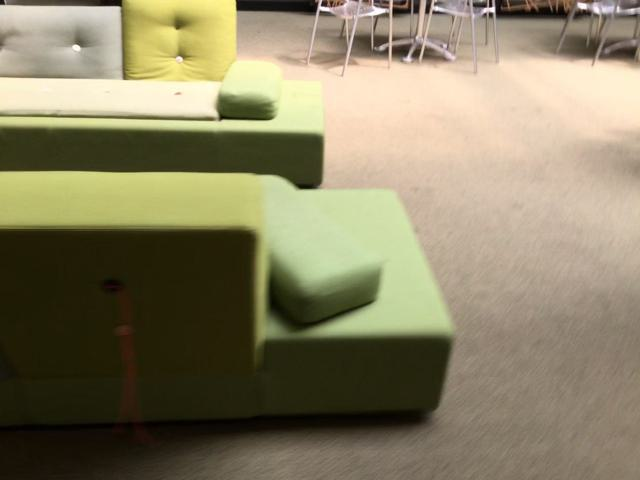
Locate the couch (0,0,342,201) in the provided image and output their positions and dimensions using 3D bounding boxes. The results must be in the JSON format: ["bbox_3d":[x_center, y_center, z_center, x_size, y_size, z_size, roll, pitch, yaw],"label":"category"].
[{"bbox_3d":[-1.100,-0.820,2.910,2.250,0.800,0.980,2,32,-7],"label":"couch"}]

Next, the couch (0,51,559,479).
[{"bbox_3d":[-0.740,0.020,1.620,2.260,0.810,1.020,1,31,-7],"label":"couch"}]
